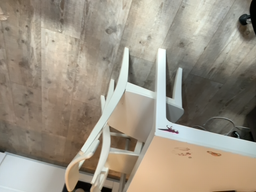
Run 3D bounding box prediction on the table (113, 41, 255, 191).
[{"bbox_3d":[0.410,0.400,1.670,0.820,0.770,1.240,13,134,-4],"label":"table"}]
